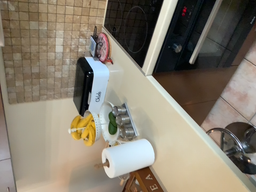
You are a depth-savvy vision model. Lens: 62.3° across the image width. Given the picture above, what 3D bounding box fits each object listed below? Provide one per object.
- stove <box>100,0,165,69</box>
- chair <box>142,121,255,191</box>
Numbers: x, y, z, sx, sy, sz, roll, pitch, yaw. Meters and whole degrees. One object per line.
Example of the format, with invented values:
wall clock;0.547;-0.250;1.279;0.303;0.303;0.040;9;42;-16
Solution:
stove;0.010;-0.520;1.080;0.540;0.020;0.560;54;139;39
chair;0.520;0.430;1.370;0.350;0.730;0.400;-10;88;60
